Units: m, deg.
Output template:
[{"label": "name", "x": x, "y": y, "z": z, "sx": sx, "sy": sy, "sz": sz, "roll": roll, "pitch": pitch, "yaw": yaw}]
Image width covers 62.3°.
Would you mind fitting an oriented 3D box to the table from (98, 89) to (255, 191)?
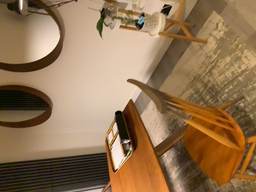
[{"label": "table", "x": 0.420, "y": 0.950, "z": 1.520, "sx": 0.890, "sy": 0.750, "sz": 1.820, "roll": 120, "pitch": 142, "yaw": -45}]
